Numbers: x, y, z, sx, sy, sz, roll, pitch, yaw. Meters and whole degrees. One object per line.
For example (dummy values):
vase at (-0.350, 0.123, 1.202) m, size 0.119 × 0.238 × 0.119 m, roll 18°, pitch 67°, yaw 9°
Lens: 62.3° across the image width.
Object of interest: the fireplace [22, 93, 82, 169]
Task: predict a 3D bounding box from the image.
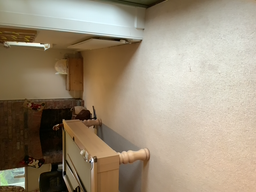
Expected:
fireplace at (-2.070, 0.850, 5.800) m, size 0.900 × 1.380 × 1.750 m, roll 13°, pitch 104°, yaw 62°
